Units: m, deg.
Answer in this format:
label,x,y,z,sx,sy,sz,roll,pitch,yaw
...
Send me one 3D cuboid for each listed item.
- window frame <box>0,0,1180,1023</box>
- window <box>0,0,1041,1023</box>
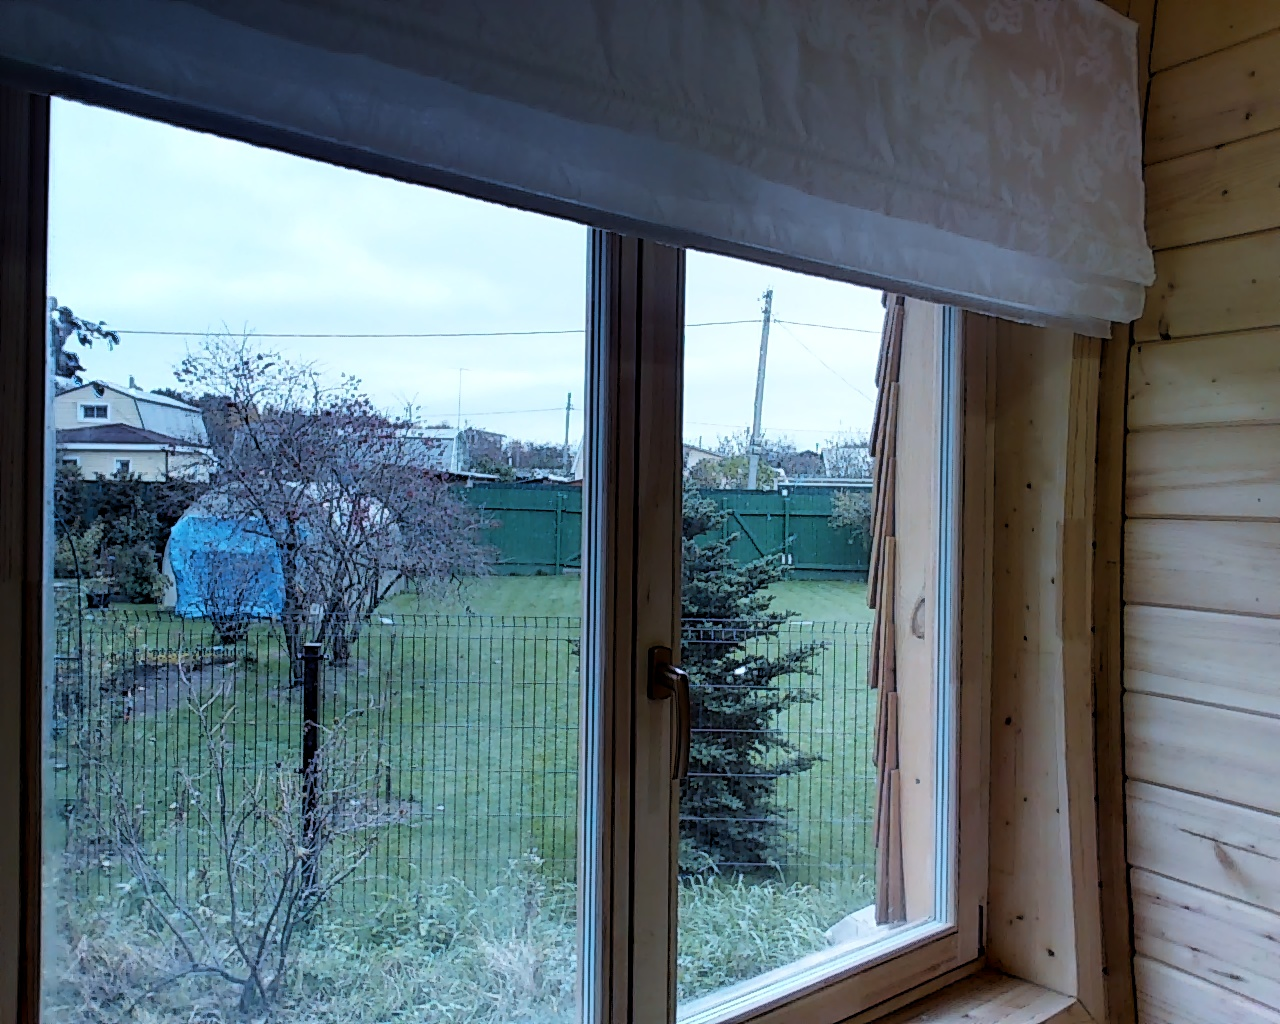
label,x,y,z,sx,sy,sz,roll,pitch,yaw
window frame,0.080,0.140,1.210,1.560,1.320,0.260,1,0,-37
window,0.010,0.140,1.280,1.460,1.210,0.130,1,0,-39
